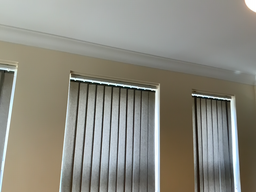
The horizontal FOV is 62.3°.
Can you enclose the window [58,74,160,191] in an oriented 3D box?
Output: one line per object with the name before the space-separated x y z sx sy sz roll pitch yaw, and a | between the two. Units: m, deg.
window | -0.120 0.600 1.840 0.900 1.490 0.030 7 -12 -22
